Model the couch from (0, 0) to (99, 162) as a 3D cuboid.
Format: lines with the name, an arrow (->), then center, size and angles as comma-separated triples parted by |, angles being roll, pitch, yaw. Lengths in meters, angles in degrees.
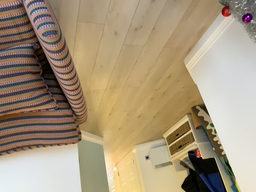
couch -> -0.690, -0.160, 1.140 | 0.860, 0.800, 0.810 | -10, 153, -4
